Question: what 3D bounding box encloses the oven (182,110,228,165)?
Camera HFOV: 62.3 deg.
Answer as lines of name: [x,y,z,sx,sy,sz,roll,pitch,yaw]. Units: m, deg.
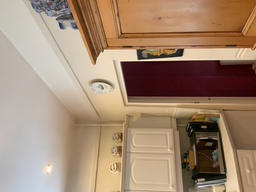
oven: [0.900,0.520,2.590,0.470,0.370,0.540,82,-170,-62]
